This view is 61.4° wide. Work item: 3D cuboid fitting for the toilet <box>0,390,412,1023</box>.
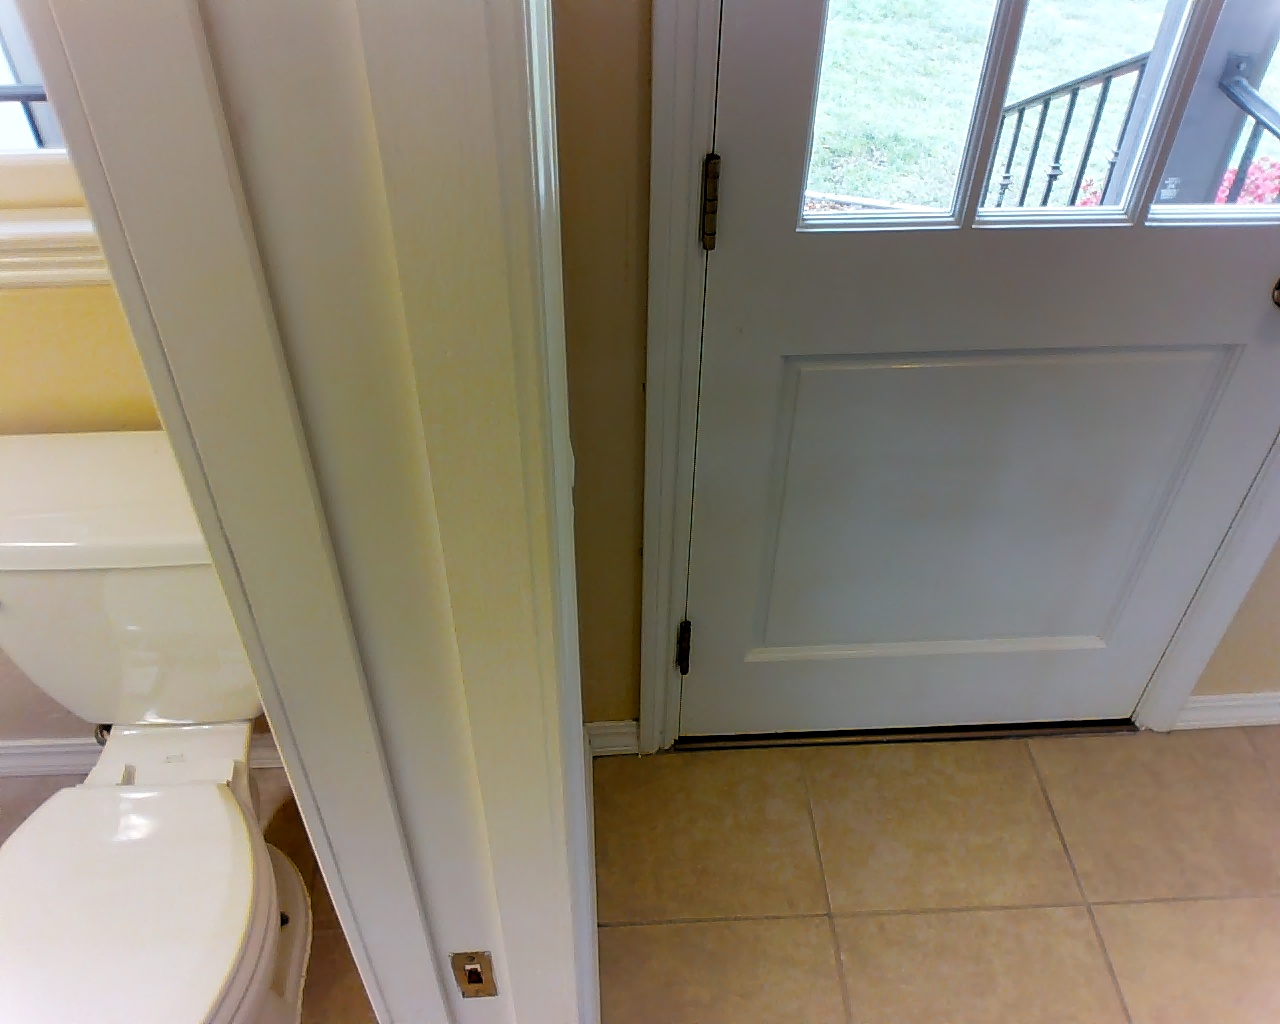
[{"bbox_3d":[-0.620,0.420,1.340,0.470,0.830,0.770,-2,42,-2],"label":"toilet"}]
